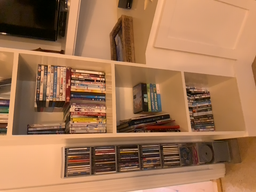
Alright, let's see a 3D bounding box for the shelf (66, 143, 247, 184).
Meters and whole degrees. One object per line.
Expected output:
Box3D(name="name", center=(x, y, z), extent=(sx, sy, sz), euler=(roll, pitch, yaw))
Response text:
Box3D(name="shelf", center=(0.240, 0.410, 1.380), extent=(0.220, 1.220, 0.150), euler=(147, 123, -62))
